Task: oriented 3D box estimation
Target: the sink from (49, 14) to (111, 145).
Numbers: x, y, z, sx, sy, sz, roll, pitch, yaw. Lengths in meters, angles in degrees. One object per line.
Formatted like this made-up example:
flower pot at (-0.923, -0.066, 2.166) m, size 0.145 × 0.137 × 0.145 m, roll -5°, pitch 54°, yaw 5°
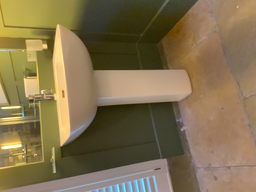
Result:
sink at (-0.300, -0.060, 1.180) m, size 0.440 × 0.190 × 0.580 m, roll 139°, pitch 123°, yaw -60°
